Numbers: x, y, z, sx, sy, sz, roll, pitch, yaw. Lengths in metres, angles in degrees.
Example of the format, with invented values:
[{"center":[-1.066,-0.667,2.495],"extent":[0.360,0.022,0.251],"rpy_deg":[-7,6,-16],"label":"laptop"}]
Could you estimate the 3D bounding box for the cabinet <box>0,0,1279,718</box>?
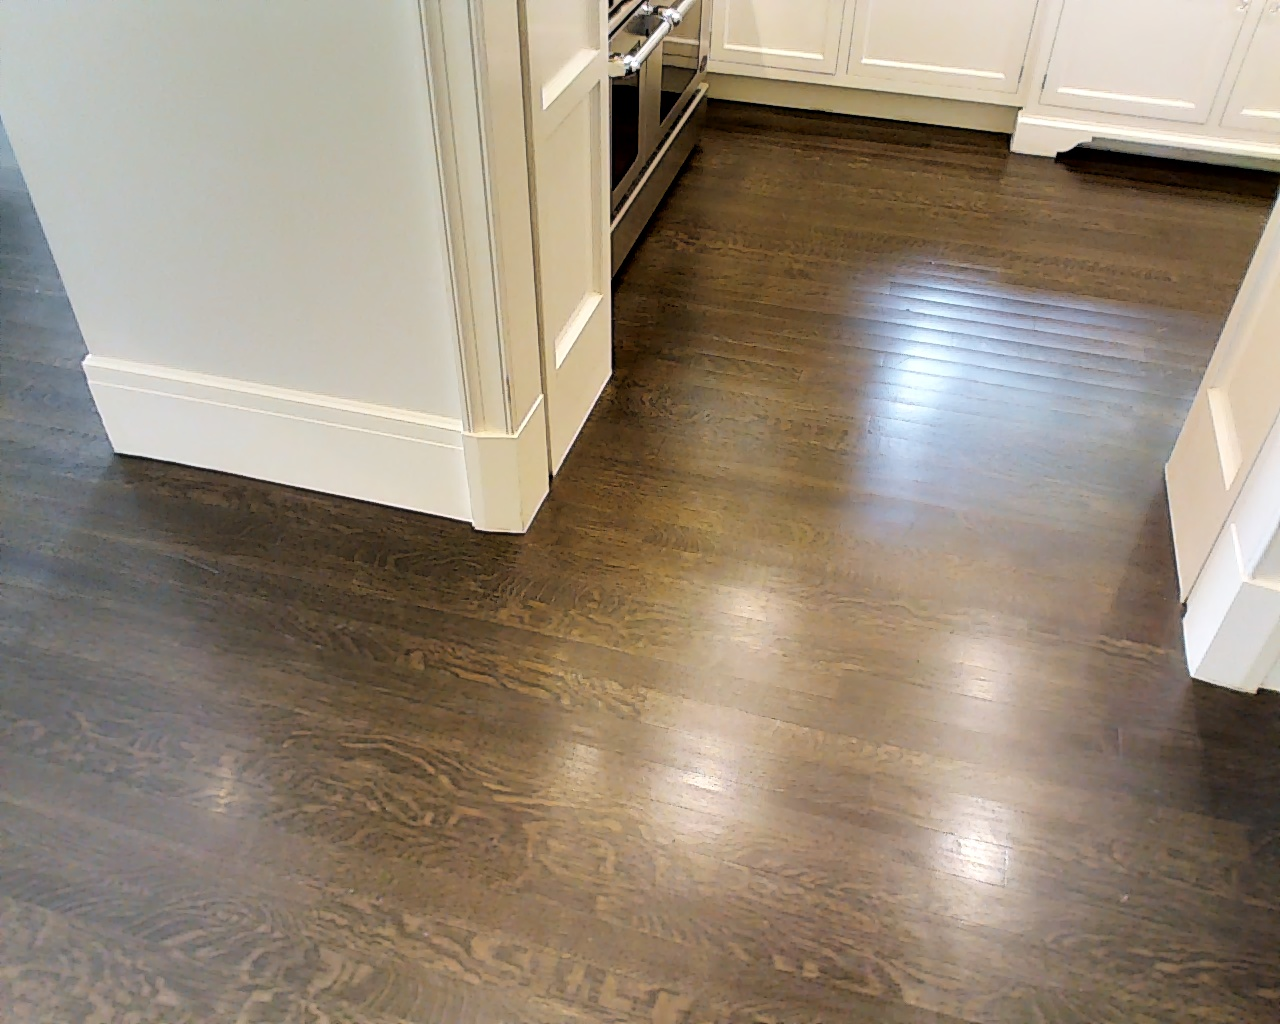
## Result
[{"center":[0.310,-0.410,1.840],"extent":[3.520,0.950,0.700],"rpy_deg":[11,43,12],"label":"cabinet"}]
